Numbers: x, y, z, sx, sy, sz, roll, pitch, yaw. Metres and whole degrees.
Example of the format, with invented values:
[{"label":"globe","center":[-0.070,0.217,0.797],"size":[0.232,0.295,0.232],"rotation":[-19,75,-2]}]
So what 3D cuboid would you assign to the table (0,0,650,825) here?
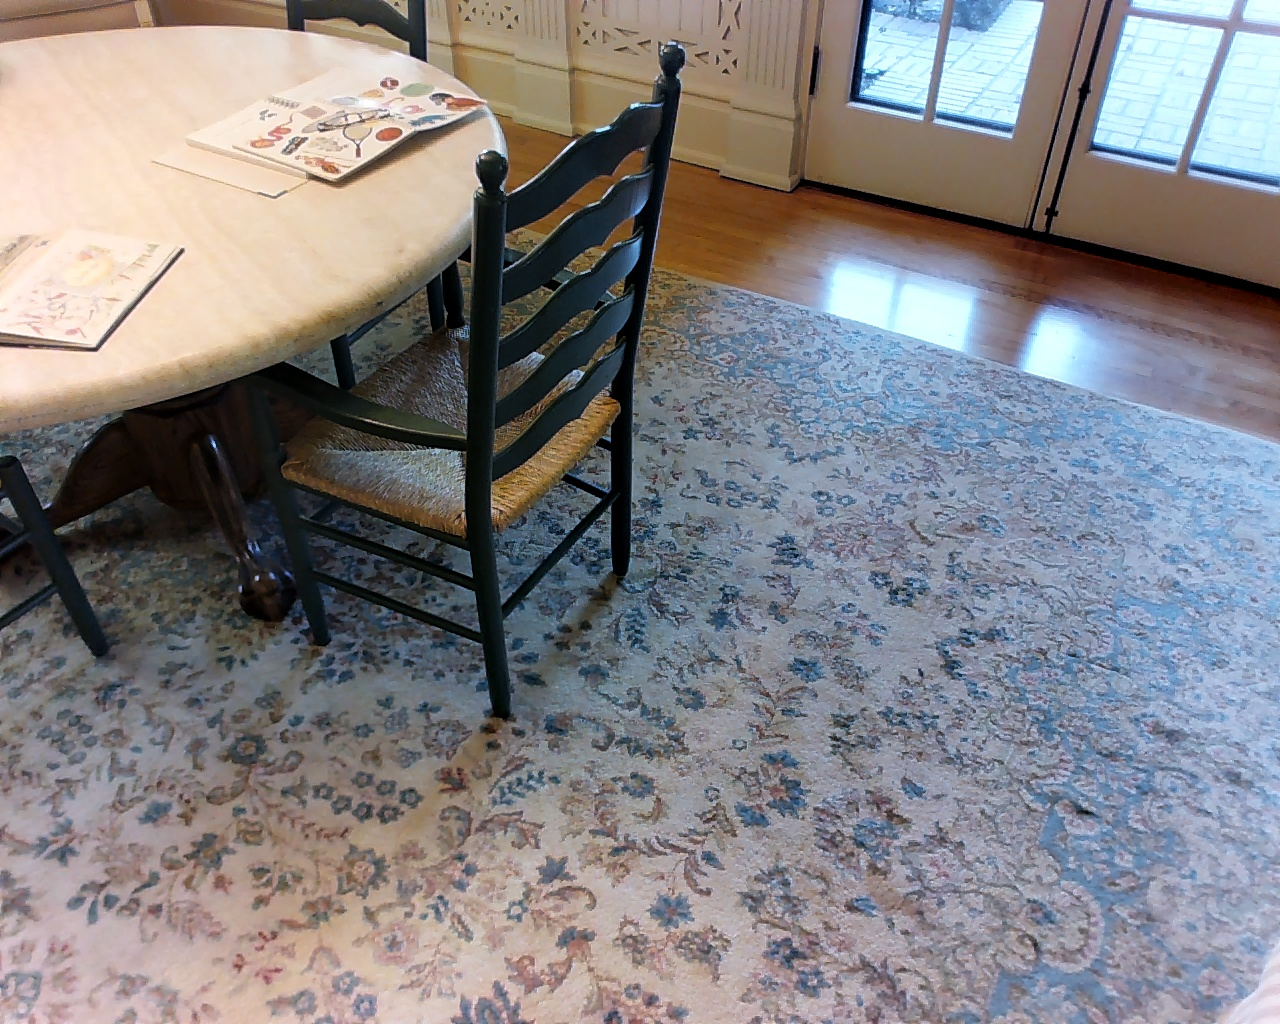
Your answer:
[{"label":"table","center":[-0.950,-0.360,2.140],"size":[1.540,0.790,1.610],"rotation":[-11,43,-12]}]

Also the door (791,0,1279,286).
[{"label":"door","center":[1.230,-1.840,2.600],"size":[1.550,2.410,0.180],"rotation":[20,46,21]}]

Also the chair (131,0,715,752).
[{"label":"chair","center":[-0.270,-0.230,1.800],"size":[0.550,1.060,0.560],"rotation":[20,46,21]}]
